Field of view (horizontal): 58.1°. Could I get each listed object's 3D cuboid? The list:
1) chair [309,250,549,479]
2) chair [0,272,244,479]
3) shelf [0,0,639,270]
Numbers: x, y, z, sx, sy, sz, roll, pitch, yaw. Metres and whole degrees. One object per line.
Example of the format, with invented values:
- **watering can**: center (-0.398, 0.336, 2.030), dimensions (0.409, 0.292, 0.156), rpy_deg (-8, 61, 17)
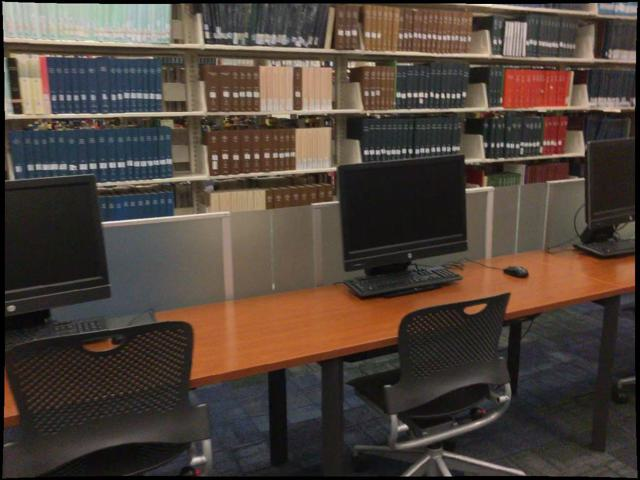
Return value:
- **chair**: center (0.369, 0.551, 2.110), dimensions (0.619, 0.852, 0.550), rpy_deg (-8, 16, -24)
- **chair**: center (-0.569, 0.652, 1.580), dimensions (0.619, 0.962, 0.420), rpy_deg (-8, 16, -24)
- **shelf**: center (-0.848, -0.762, 2.990), dimensions (7.055, 1.454, 0.750), rpy_deg (-8, 16, -24)
